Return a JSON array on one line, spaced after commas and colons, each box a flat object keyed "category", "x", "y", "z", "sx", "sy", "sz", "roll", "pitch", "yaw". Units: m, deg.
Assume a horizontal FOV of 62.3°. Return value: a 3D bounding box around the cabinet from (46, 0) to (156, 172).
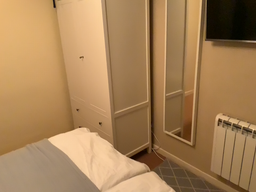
[{"category": "cabinet", "x": -0.310, "y": -0.290, "z": 2.650, "sx": 0.700, "sy": 1.960, "sz": 1.120, "roll": -19, "pitch": 25, "yaw": -37}]
